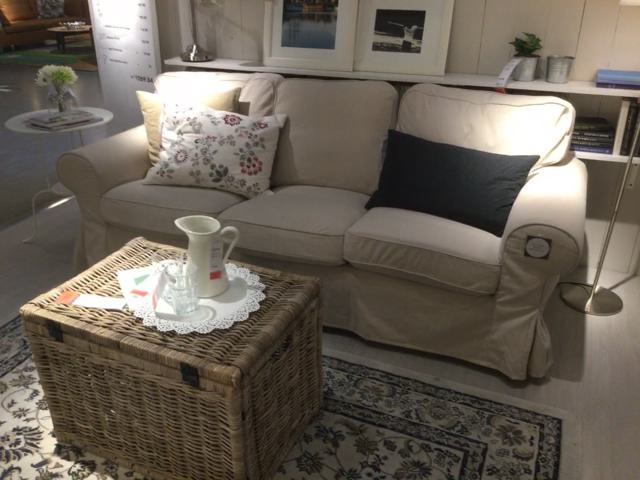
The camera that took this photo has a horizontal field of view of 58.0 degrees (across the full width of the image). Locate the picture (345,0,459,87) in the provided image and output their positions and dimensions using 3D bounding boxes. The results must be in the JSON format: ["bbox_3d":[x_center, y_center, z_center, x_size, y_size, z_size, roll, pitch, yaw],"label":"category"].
[{"bbox_3d":[0.360,-0.940,2.600,0.460,0.430,0.190,12,29,24],"label":"picture"}]

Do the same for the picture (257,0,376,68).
[{"bbox_3d":[-0.020,-1.130,2.710,0.550,0.570,0.150,12,29,24],"label":"picture"}]
